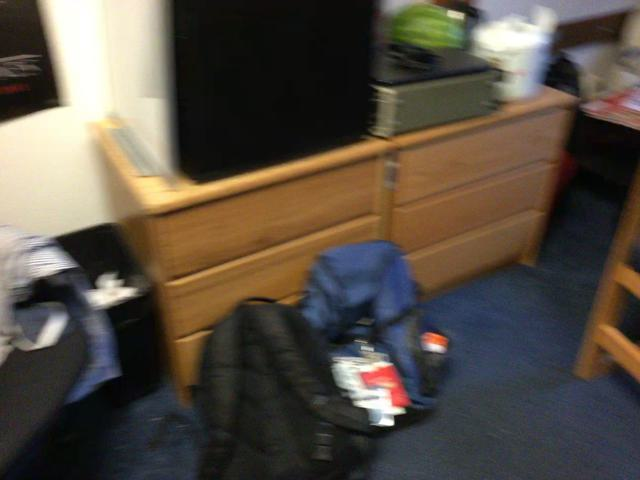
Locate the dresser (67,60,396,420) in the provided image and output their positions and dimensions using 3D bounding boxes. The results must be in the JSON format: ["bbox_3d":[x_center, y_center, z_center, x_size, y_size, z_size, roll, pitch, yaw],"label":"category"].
[{"bbox_3d":[-0.270,-0.070,1.800,0.690,0.730,0.700,-18,35,-26],"label":"dresser"}]

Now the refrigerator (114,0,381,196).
[{"bbox_3d":[-0.160,-0.580,1.310,0.550,0.810,0.260,-18,35,-26],"label":"refrigerator"}]
